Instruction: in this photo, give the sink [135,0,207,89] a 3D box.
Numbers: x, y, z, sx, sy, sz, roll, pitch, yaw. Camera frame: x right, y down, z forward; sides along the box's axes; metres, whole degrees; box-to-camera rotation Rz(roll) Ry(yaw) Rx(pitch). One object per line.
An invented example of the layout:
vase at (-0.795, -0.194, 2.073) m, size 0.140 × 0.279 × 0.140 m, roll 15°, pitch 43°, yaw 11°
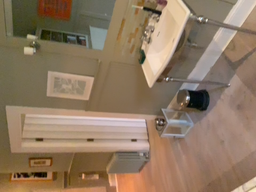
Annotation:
sink at (0.300, -0.470, 1.780) m, size 0.720 × 0.170 × 0.440 m, roll 115°, pitch 152°, yaw -44°
